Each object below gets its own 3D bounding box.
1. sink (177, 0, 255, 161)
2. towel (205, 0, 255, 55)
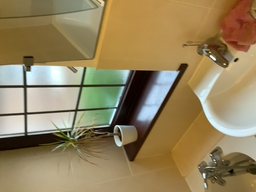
[{"bbox_3d":[0.500,-0.080,0.880,0.570,0.170,0.430,113,145,-41],"label":"sink"},{"bbox_3d":[0.420,-0.290,0.830,0.140,0.060,0.210,65,145,39],"label":"towel"}]
